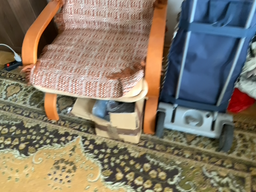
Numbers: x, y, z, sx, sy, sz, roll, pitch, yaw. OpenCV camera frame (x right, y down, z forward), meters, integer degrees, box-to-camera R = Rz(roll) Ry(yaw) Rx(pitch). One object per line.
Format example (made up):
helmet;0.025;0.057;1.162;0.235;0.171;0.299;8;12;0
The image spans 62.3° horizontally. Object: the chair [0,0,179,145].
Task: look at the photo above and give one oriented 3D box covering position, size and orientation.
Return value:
chair;-0.120;-0.410;1.090;0.700;0.990;0.820;11;54;10
